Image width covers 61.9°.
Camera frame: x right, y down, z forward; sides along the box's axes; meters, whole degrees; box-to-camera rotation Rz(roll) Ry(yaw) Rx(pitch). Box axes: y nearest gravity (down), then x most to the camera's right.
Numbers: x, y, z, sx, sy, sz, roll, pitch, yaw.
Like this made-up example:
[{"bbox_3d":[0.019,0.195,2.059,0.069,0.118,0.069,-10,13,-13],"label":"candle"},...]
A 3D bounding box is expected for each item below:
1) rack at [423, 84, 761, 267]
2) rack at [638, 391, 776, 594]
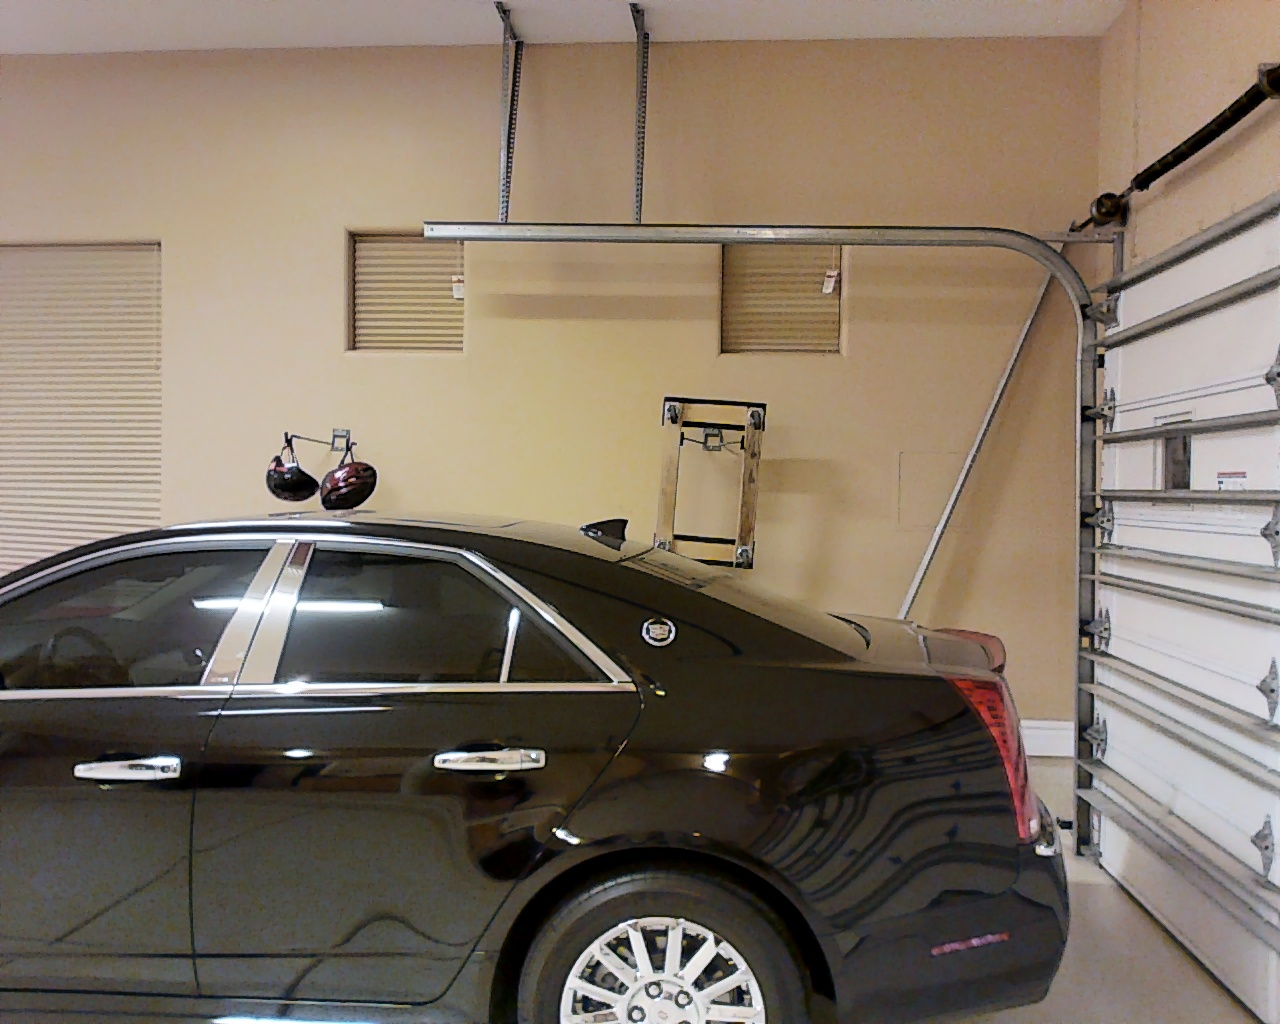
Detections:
[{"bbox_3d":[-0.210,-1.520,4.870,1.480,0.720,0.370,1,2,2],"label":"rack"},{"bbox_3d":[0.300,-0.100,4.910,0.570,0.880,0.330,3,6,2],"label":"rack"}]
